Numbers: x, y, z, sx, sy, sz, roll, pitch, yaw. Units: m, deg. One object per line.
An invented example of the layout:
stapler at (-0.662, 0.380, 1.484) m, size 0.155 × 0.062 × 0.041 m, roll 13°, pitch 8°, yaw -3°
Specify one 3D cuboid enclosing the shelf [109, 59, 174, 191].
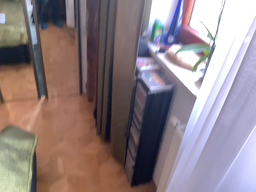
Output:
shelf at (0.040, 0.230, 1.470) m, size 0.210 × 0.890 × 0.360 m, roll -5°, pitch 37°, yaw -17°
